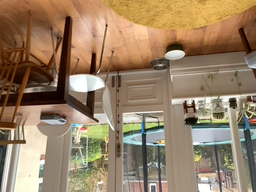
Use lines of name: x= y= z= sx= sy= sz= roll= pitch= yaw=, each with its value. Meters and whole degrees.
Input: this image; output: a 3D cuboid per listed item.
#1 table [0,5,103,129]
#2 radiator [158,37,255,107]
table: x=-1.450 y=-0.120 z=2.090 sx=2.200 sy=0.760 sz=0.900 roll=-4 pitch=163 yaw=10
radiator: x=0.910 y=-0.240 z=2.390 sx=1.060 sy=0.590 sz=0.340 roll=-5 pitch=163 yaw=14
